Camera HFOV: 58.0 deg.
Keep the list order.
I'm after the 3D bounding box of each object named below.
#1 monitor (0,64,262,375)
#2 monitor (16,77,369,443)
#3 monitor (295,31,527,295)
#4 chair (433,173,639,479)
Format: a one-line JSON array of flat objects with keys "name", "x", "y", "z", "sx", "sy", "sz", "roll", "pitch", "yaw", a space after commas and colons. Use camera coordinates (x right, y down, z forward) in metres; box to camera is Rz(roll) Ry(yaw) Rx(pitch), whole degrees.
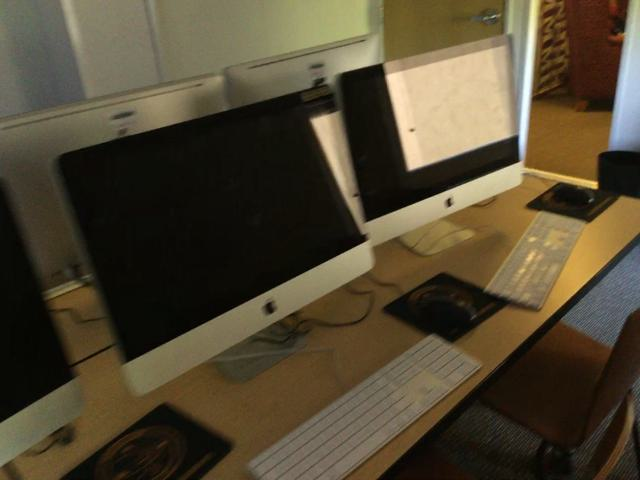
[{"name": "monitor", "x": -0.410, "y": -0.070, "z": 1.180, "sx": 0.540, "sy": 0.450, "sz": 0.170, "roll": -25, "pitch": 34, "yaw": -34}, {"name": "monitor", "x": -0.160, "y": 0.000, "z": 0.990, "sx": 0.510, "sy": 0.430, "sz": 0.180, "roll": -27, "pitch": 35, "yaw": -36}, {"name": "monitor", "x": 0.220, "y": -0.190, "z": 1.300, "sx": 0.530, "sy": 0.450, "sz": 0.130, "roll": -22, "pitch": 32, "yaw": -29}, {"name": "chair", "x": 0.560, "y": 0.330, "z": 1.280, "sx": 0.400, "sy": 0.780, "sz": 0.470, "roll": 22, "pitch": 38, "yaw": 40}]
